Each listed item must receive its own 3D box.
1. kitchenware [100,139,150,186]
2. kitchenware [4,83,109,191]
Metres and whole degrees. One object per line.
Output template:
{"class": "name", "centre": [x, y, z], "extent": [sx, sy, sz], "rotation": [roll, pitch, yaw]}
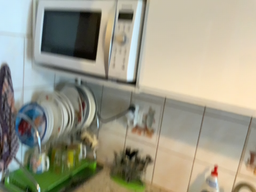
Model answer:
{"class": "kitchenware", "centre": [-0.020, 0.380, 1.240], "extent": [0.270, 0.170, 0.070], "rotation": [14, 14, 24]}
{"class": "kitchenware", "centre": [-0.360, 0.190, 1.140], "extent": [0.270, 0.440, 0.460], "rotation": [13, 14, 23]}
